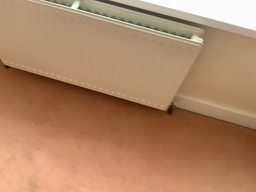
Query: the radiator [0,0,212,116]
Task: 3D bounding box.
[{"bbox_3d":[-0.260,-0.230,1.140,1.180,0.590,0.090,17,58,3],"label":"radiator"}]
